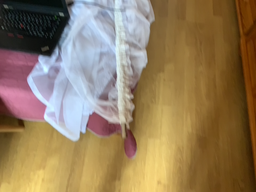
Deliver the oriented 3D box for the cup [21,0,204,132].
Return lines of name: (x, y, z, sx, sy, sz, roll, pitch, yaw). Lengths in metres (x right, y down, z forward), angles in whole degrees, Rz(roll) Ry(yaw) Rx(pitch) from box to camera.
cup: (-0.140, -0.620, 1.040, 0.550, 0.290, 1.490, -6, 69, -5)
